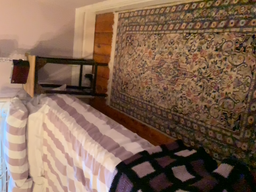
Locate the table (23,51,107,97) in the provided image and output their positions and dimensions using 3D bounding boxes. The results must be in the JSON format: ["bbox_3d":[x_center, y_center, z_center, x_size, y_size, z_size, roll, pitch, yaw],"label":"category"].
[{"bbox_3d":[-0.640,-0.220,2.160,0.370,0.720,0.370,23,110,53],"label":"table"}]

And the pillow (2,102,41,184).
[{"bbox_3d":[-1.000,0.400,1.960,0.470,0.240,0.570,23,110,51],"label":"pillow"}]

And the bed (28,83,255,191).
[{"bbox_3d":[-0.230,0.830,1.710,2.040,0.680,1.500,23,110,53],"label":"bed"}]
